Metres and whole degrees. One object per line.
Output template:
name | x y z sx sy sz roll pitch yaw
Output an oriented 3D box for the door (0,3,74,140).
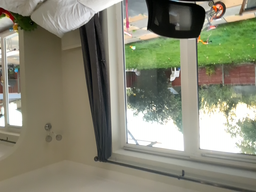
door | -2.150 -0.370 4.270 2.790 2.240 0.100 -1 -179 33
